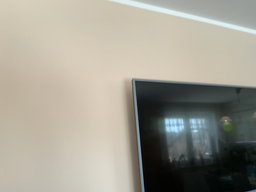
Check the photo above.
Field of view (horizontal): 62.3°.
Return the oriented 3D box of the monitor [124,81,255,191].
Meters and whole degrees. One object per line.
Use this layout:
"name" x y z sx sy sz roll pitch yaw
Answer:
"monitor" 0.510 0.290 1.370 1.090 0.710 0.080 3 -16 -25
